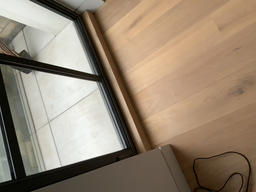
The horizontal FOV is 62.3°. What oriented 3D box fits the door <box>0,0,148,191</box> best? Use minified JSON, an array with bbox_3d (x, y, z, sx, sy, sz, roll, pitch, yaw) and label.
[{"bbox_3d":[-0.670,-0.170,0.580,0.080,2.300,0.980,-30,72,26],"label":"door"}]
